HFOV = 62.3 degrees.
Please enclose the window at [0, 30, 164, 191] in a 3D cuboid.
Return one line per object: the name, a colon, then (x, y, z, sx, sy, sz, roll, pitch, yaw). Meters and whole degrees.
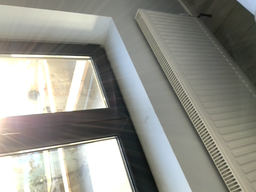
window: (-0.540, 0.140, 0.910, 0.130, 1.240, 1.110, -58, 44, 48)
